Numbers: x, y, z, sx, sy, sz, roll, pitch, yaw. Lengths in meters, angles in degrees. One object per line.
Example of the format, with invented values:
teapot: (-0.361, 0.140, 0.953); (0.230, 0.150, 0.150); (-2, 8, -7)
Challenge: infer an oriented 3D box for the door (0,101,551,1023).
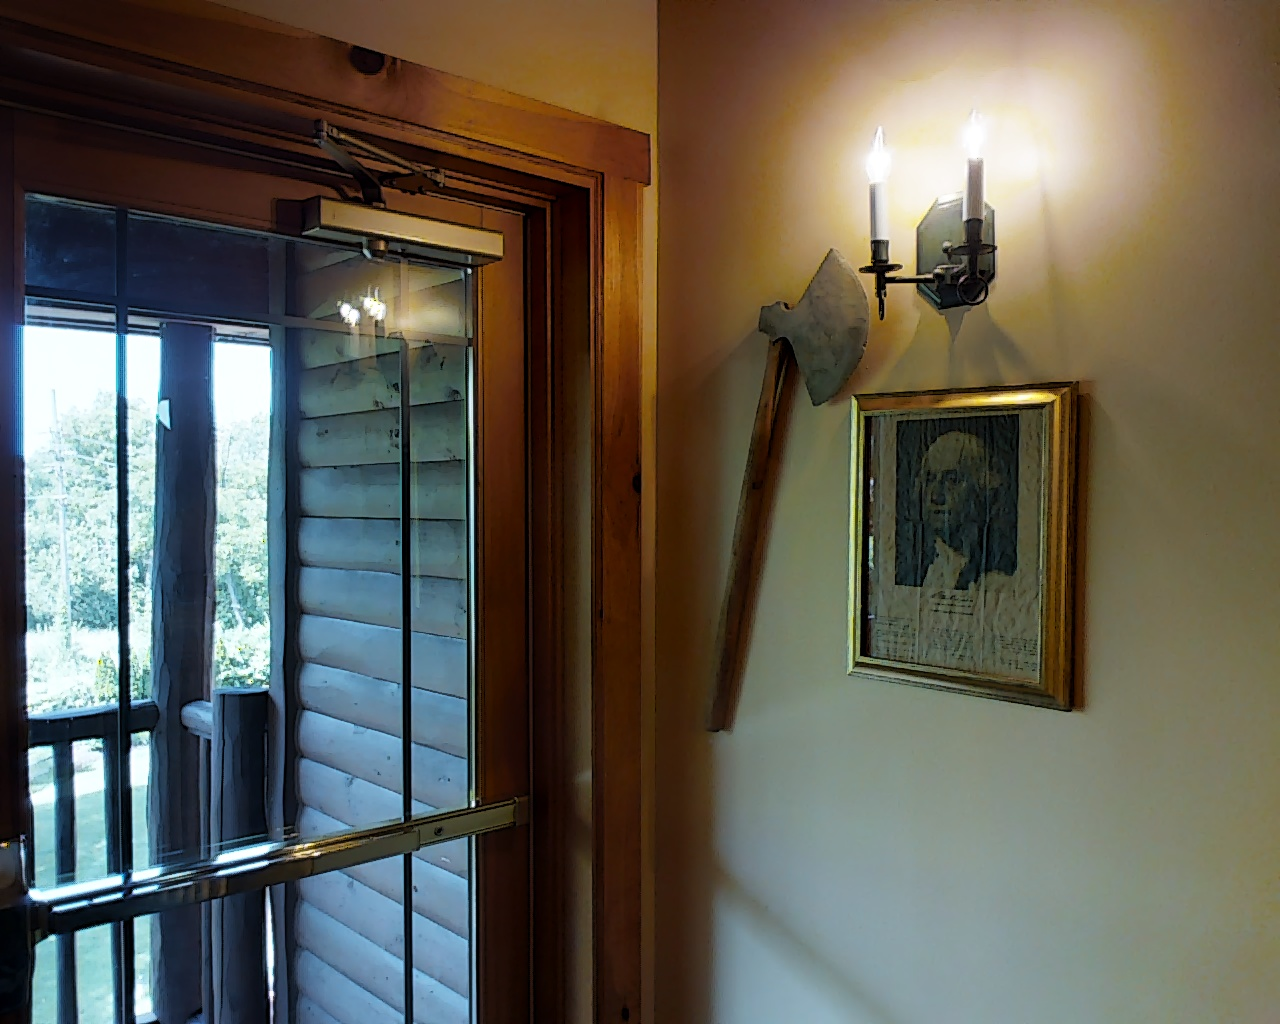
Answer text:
door: (-0.510, 0.500, 1.610); (0.890, 2.010, 0.070); (-1, 0, -43)
